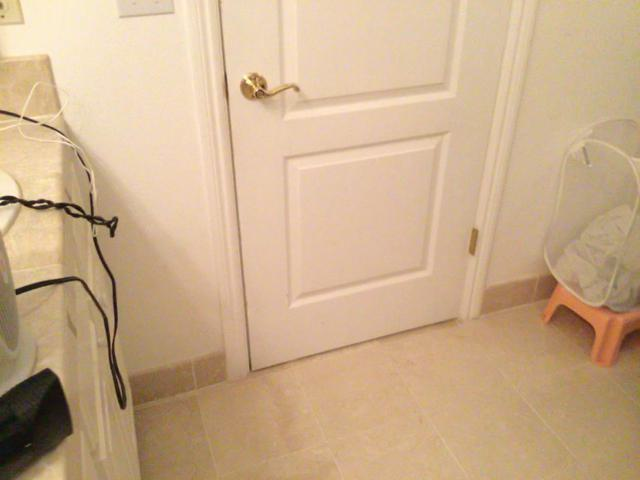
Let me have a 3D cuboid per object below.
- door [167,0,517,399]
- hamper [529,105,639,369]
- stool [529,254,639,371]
[{"bbox_3d":[0.120,-0.300,1.490,0.810,1.570,0.100,-18,34,-12],"label":"door"},{"bbox_3d":[0.980,-0.020,1.820,0.390,0.690,0.360,-14,33,-15],"label":"hamper"},{"bbox_3d":[0.900,0.230,1.930,0.200,0.180,0.340,-14,33,-15],"label":"stool"}]
